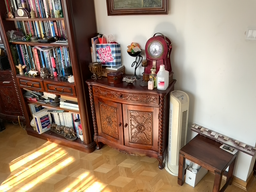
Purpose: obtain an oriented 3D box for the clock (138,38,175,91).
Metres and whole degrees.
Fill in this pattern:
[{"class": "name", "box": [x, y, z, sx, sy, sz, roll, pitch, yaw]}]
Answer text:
[{"class": "clock", "box": [0.250, -0.280, 1.840, 0.240, 0.380, 0.250, 10, 28, 24]}]
